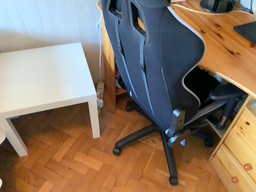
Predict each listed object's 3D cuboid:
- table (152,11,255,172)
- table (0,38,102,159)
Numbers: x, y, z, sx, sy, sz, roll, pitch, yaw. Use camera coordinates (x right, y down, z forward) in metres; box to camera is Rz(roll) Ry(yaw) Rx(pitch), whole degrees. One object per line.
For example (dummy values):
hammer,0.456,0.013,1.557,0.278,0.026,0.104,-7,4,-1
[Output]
table,0.540,-0.010,1.350,0.570,0.790,0.390,-31,55,-29
table,-0.540,-0.010,1.500,0.560,0.470,0.600,-12,48,-15
